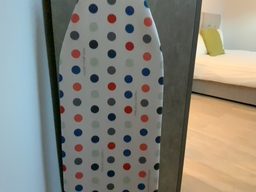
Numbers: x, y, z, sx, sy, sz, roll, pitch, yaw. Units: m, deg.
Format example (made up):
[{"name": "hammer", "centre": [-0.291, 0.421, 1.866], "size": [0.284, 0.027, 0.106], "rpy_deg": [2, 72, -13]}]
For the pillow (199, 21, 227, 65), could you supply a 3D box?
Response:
[{"name": "pillow", "centre": [1.530, -0.940, 3.760], "size": [0.160, 0.510, 0.670], "rpy_deg": [3, 39, 44]}]
